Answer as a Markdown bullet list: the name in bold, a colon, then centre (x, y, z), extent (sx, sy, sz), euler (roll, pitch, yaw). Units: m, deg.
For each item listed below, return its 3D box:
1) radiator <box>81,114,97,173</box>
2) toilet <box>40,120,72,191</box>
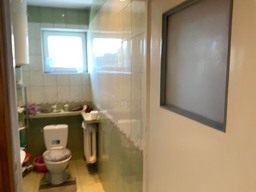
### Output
- **radiator**: centre (-0.630, 0.720, 3.380), extent (0.180, 0.740, 0.630), euler (-2, 8, -17)
- **toilet**: centre (-1.080, 0.830, 3.220), extent (0.370, 0.710, 0.880), euler (-2, 8, -18)
